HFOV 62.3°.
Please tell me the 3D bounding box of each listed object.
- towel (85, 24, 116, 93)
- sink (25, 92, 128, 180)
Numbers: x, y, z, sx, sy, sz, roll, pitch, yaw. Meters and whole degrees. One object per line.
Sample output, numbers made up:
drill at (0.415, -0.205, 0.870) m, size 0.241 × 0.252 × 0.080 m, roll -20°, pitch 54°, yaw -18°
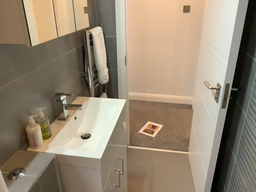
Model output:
towel at (-0.200, -0.300, 1.660) m, size 0.140 × 0.480 × 0.260 m, roll 3°, pitch 25°, yaw 9°
sink at (-0.230, 0.170, 1.230) m, size 0.350 × 0.130 × 0.640 m, roll 4°, pitch 25°, yaw 10°
